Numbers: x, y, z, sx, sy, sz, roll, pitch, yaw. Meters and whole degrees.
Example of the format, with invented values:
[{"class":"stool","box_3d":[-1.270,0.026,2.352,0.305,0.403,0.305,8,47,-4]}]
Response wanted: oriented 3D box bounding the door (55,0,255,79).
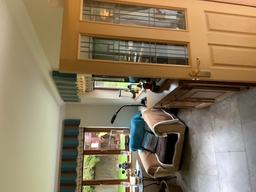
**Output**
[{"class":"door","box_3d":[0.410,-0.540,1.940,0.040,2.000,0.710,127,144,-72]}]
